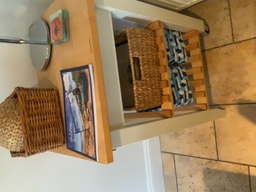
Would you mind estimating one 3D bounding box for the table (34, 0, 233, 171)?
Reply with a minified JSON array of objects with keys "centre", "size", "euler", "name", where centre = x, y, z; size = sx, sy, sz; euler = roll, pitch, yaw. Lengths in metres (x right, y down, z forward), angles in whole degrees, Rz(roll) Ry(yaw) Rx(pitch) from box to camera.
[{"centre":[0.050,-0.070,1.120],"size":[0.570,0.820,0.590],"euler":[-9,87,49],"name":"table"}]
